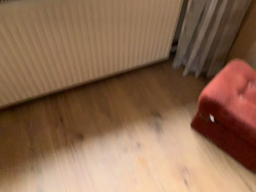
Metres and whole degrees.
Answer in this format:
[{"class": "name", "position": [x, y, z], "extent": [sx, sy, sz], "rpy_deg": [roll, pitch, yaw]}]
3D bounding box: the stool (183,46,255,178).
[{"class": "stool", "position": [0.630, 0.080, 1.100], "extent": [0.470, 0.360, 0.370], "rpy_deg": [39, 61, 23]}]
